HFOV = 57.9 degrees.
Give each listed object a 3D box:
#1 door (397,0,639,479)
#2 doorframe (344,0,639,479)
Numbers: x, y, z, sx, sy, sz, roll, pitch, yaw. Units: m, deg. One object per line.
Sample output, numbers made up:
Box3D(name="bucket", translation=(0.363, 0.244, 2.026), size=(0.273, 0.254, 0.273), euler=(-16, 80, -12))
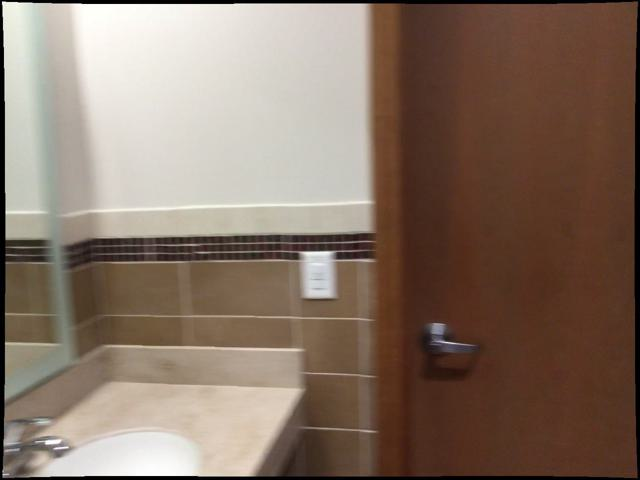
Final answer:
Box3D(name="door", translation=(0.679, 0.130, 1.450), size=(0.899, 2.072, 0.100), euler=(-2, 9, 12))
Box3D(name="doorframe", translation=(0.679, 0.120, 1.380), size=(1.149, 2.142, 0.220), euler=(-2, 9, 12))
